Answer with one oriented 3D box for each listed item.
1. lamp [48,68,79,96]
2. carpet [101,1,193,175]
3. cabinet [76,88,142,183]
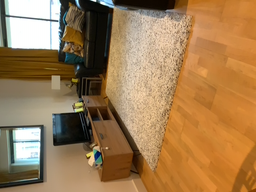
[{"bbox_3d":[-1.500,-0.330,4.890,0.520,0.610,0.460,-128,42,-56],"label":"lamp"},{"bbox_3d":[-0.010,-0.400,3.130,2.410,0.040,1.790,-130,44,-58],"label":"carpet"},{"bbox_3d":[-0.450,0.470,3.600,2.100,0.530,0.420,-130,43,-57],"label":"cabinet"}]
